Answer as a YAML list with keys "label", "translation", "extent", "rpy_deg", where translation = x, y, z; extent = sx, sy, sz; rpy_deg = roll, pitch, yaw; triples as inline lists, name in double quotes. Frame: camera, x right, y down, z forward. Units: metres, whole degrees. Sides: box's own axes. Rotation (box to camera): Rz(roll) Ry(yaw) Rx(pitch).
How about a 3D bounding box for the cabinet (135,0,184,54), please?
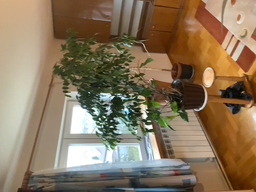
- label: "cabinet"
  translation: [0.750, -2.260, 3.530]
  extent: [0.580, 0.570, 3.180]
  rpy_deg: [-101, 18, -47]

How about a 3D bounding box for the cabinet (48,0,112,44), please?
- label: "cabinet"
  translation: [-0.900, -1.560, 4.040]
  extent: [0.390, 1.090, 0.930]
  rpy_deg: [-101, 18, -47]

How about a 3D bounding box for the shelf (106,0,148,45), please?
- label: "shelf"
  translation: [-0.050, -1.540, 4.240]
  extent: [0.340, 0.650, 0.930]
  rpy_deg: [-101, 18, -47]
